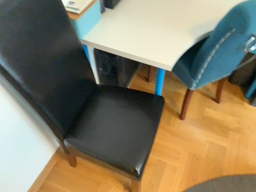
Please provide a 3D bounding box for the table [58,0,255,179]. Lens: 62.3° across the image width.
[{"bbox_3d":[0.420,-0.300,1.600,1.210,0.740,1.180,20,55,15],"label":"table"}]
